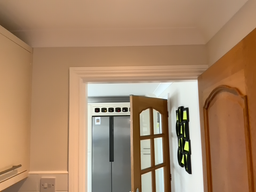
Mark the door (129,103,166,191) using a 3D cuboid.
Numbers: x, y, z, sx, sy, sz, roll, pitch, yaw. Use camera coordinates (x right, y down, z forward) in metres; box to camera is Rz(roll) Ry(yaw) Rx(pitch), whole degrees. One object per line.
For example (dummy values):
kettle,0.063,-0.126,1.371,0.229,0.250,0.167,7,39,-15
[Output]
door,0.250,1.070,2.370,0.040,1.950,0.750,-4,-7,34
